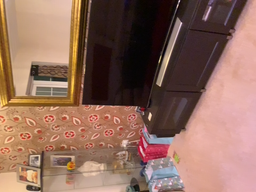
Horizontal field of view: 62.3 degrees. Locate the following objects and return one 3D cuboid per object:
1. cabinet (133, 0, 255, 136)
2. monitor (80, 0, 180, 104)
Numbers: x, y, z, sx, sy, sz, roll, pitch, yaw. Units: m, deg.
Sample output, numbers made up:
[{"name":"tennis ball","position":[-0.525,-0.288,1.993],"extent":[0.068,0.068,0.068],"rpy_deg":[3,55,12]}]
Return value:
[{"name":"cabinet","position":[0.570,-0.420,2.130],"extent":[0.500,0.530,1.820],"rpy_deg":[-112,29,-49]},{"name":"monitor","position":[-0.020,-0.430,1.930],"extent":[0.090,0.710,1.200],"rpy_deg":[-113,30,-50]}]
